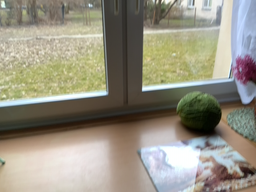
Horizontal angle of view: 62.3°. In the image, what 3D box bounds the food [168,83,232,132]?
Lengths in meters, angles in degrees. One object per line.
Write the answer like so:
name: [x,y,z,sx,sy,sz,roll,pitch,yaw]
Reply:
food: [0.360,0.050,1.110,0.200,0.140,0.240,-7,25,-15]
